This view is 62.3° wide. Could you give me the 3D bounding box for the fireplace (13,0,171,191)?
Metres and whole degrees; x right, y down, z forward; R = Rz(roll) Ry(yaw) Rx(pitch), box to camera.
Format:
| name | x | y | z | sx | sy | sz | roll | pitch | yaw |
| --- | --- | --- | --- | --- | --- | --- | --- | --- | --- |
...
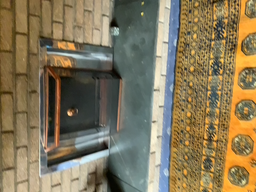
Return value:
| name | x | y | z | sx | sy | sz | roll | pitch | yaw |
| --- | --- | --- | --- | --- | --- | --- | --- | --- | --- |
| fireplace | -0.300 | 0.040 | 1.550 | 0.850 | 0.710 | 2.230 | 11 | 101 | 44 |
